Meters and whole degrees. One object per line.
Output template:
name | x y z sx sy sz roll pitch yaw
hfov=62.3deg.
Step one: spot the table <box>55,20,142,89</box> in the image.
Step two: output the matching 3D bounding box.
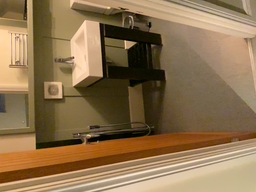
table | -0.310 -0.360 2.160 0.460 0.730 0.520 -13 79 58
